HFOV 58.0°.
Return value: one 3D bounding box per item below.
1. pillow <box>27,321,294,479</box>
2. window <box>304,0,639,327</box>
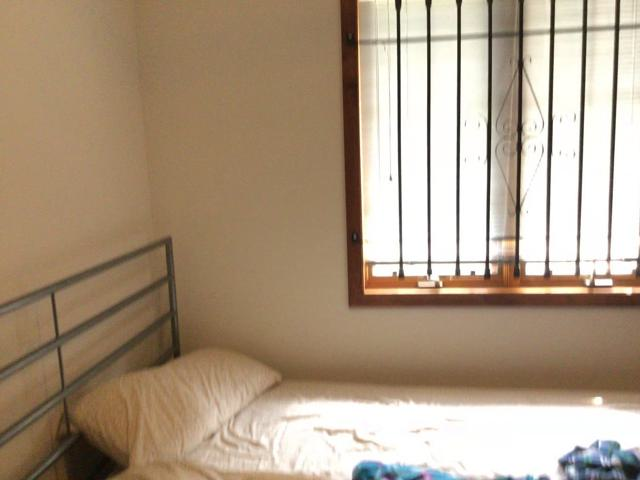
[{"bbox_3d":[-0.440,0.540,1.950,0.540,0.270,0.900,-1,9,8],"label":"pillow"},{"bbox_3d":[0.660,-0.360,2.120,1.370,1.340,0.180,-2,9,8],"label":"window"}]
